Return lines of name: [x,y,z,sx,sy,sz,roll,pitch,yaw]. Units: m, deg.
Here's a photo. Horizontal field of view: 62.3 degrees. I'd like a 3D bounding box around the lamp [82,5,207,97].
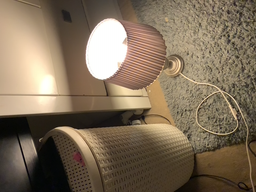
lamp: [0.090,-0.150,0.930,0.260,0.470,0.220,-31,70,38]
